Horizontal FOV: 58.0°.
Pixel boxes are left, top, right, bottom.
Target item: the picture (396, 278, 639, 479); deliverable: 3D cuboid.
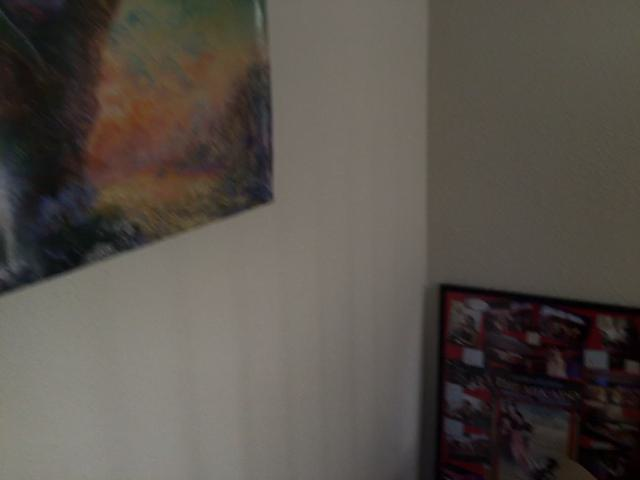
[{"bbox_3d":[0.660,0.610,1.840,0.750,0.940,0.160,0,12,33],"label":"picture"}]
